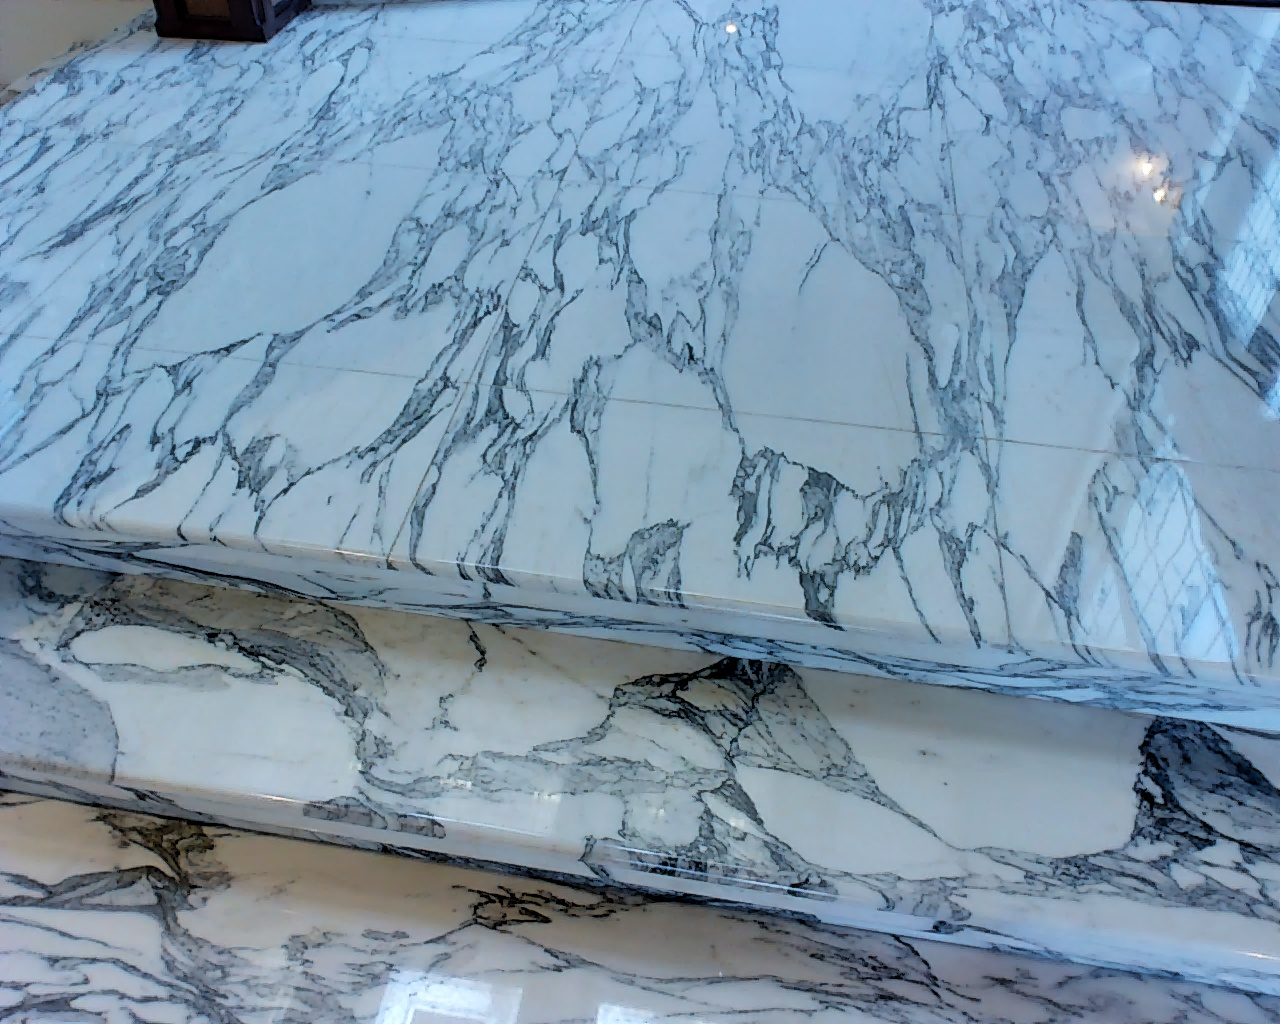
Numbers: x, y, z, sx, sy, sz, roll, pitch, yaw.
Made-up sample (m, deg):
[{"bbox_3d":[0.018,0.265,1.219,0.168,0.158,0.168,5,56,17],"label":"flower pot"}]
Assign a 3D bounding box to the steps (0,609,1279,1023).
[{"bbox_3d":[0.100,0.560,1.250,2.560,0.350,0.510,7,42,7],"label":"steps"}]
